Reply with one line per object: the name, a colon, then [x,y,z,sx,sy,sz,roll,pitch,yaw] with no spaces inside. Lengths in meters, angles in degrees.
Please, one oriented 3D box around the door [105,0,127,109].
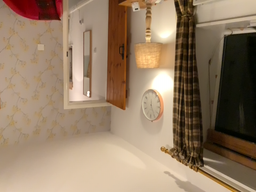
door: [-0.190,-0.830,3.120,0.050,1.940,0.640,-3,-169,-26]
